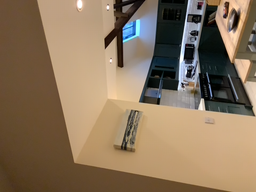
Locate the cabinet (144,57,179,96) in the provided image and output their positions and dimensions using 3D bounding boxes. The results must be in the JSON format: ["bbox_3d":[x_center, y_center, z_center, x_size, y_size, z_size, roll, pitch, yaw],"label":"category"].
[{"bbox_3d":[0.960,-0.580,5.790,1.450,0.810,0.300,-70,-16,-53],"label":"cabinet"}]

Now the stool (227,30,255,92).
[{"bbox_3d":[2.160,-0.680,3.690,1.650,0.470,0.370,-70,-16,-52],"label":"stool"}]

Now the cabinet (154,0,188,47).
[{"bbox_3d":[1.220,-2.190,6.090,0.350,0.810,1.450,-70,-16,-53],"label":"cabinet"}]
